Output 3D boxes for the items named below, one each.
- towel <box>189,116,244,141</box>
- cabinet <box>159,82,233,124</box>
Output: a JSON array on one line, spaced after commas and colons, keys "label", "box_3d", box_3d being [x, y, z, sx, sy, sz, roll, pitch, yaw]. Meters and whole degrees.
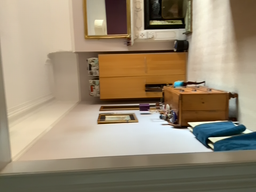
[{"label": "towel", "box_3d": [0.950, 0.350, 2.340, 0.350, 0.450, 0.160, -116, 24, -82]}, {"label": "cabinet", "box_3d": [0.980, 0.060, 3.320, 1.030, 0.760, 0.470, -115, 23, -81]}]
